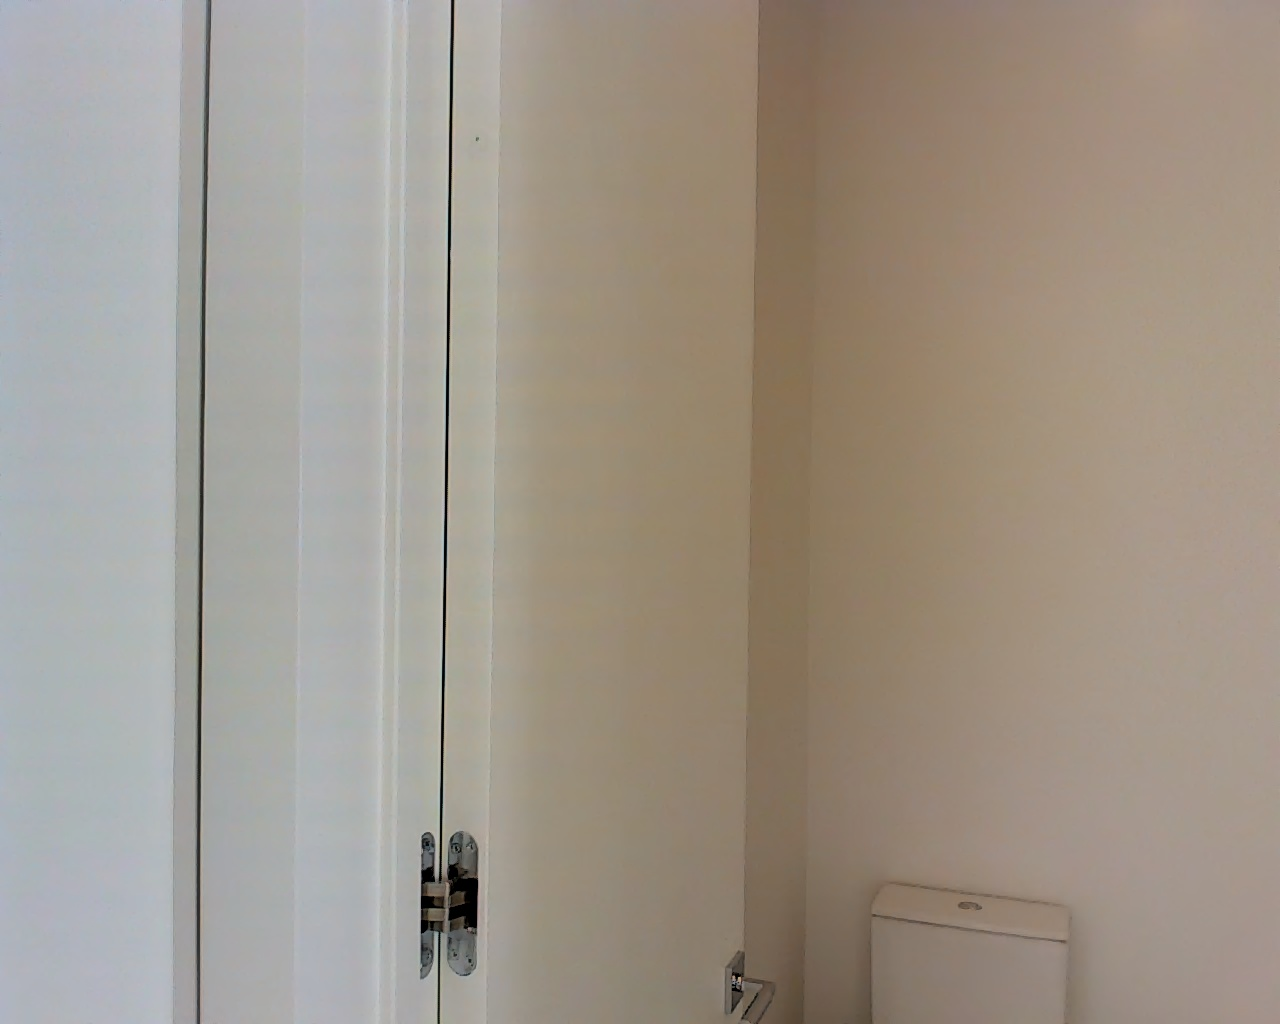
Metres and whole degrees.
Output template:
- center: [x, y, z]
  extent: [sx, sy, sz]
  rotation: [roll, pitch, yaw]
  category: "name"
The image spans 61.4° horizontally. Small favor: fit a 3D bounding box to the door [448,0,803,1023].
- center: [0.040, 0.310, 1.250]
  extent: [0.070, 2.450, 0.840]
  rotation: [1, 0, 23]
  category: "door"
